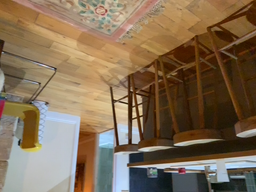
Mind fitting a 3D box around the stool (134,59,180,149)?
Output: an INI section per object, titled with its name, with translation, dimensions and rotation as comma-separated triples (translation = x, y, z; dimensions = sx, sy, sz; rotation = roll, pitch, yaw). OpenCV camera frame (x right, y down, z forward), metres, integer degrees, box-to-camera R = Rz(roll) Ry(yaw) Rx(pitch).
[stool]
translation = 0.270, 0.090, 2.100
dimensions = 0.300, 0.800, 0.290
rotation = 15, 154, -33
